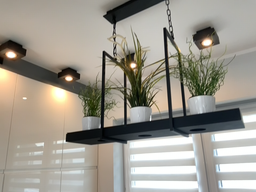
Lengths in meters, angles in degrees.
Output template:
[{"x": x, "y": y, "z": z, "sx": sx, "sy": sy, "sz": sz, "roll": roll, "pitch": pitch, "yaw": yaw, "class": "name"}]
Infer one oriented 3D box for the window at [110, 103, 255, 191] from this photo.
[{"x": 0.680, "y": 0.830, "z": 1.810, "sx": 1.910, "sy": 1.370, "sz": 0.190, "roll": -13, "pitch": -21, "yaw": 31, "class": "window"}]
